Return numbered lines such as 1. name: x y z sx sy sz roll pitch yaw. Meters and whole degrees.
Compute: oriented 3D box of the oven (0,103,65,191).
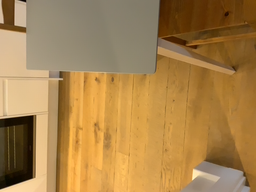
1. oven: -1.150 0.450 2.020 0.550 0.890 0.640 8 98 39
